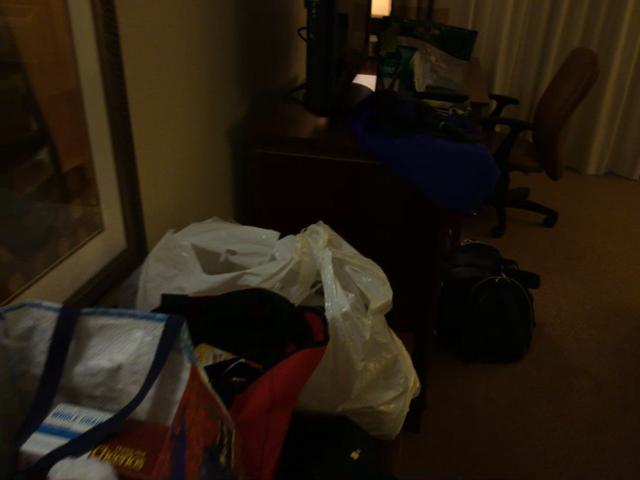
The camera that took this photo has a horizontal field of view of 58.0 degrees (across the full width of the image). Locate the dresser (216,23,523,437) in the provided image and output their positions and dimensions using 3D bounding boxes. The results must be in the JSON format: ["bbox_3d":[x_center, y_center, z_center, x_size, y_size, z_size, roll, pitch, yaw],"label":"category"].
[{"bbox_3d":[0.190,-0.100,1.860,0.680,1.010,0.830,6,29,12],"label":"dresser"}]
